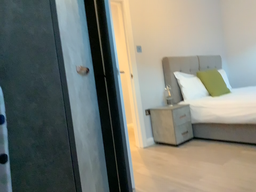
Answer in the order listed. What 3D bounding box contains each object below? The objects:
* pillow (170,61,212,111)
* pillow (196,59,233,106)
[{"bbox_3d":[1.020,-0.170,3.370,0.670,0.510,0.170,-40,12,-39],"label":"pillow"},{"bbox_3d":[1.460,-0.240,3.530,0.160,0.510,0.670,-22,15,50],"label":"pillow"}]
